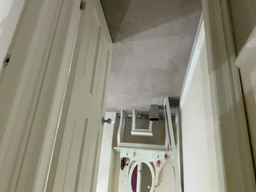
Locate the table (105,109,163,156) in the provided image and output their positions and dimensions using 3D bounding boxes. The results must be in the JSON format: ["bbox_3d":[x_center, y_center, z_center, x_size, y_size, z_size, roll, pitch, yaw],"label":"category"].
[{"bbox_3d":[0.140,0.720,4.170,1.030,0.780,0.470,2,157,5],"label":"table"}]
